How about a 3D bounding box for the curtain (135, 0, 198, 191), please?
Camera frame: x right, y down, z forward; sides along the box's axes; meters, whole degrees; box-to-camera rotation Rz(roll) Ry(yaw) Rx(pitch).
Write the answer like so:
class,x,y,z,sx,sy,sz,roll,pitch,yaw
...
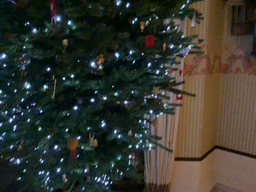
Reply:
class,x,y,z,sx,sy,sz,roll,pitch,yaw
curtain,0.500,-0.050,3.040,0.710,3.330,0.350,0,-170,-6
